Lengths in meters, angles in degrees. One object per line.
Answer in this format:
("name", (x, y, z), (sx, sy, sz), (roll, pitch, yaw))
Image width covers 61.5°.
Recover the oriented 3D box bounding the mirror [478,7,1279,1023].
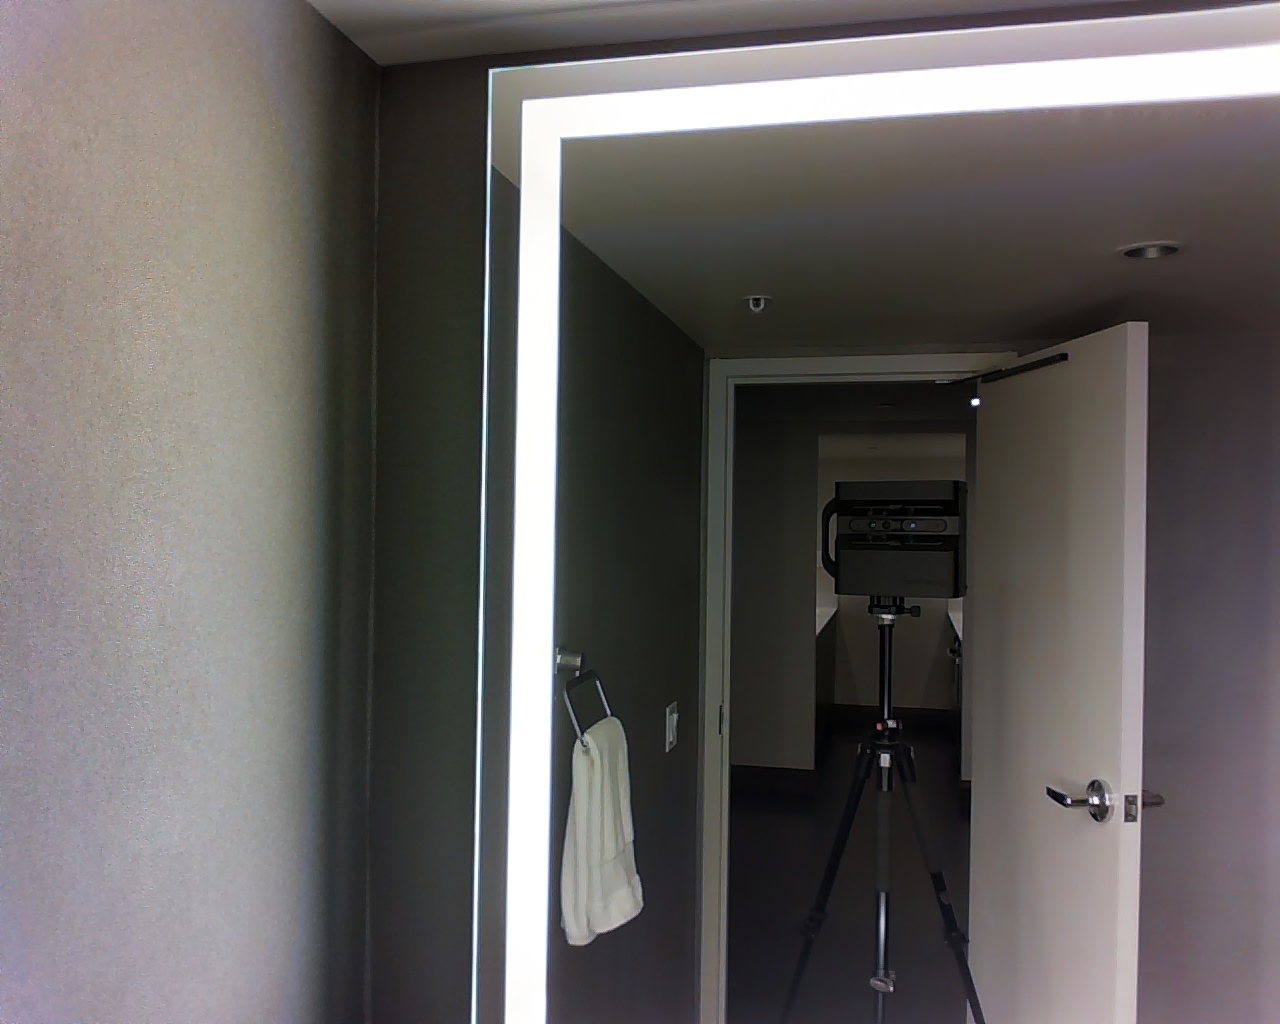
("mirror", (0.300, 0.070, 1.040), (0.920, 1.020, 0.100), (1, 0, 13))
